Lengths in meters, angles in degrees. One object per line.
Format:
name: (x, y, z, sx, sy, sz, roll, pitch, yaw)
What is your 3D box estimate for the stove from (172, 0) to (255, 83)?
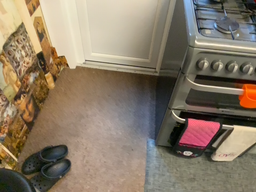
stove: (0.540, -0.360, 1.040, 0.600, 0.180, 0.620, 6, 53, 1)
